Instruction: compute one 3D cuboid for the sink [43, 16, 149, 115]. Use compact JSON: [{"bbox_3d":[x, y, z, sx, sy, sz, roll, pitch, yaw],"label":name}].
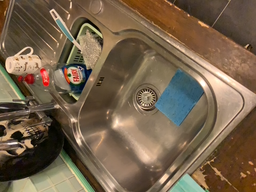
[{"bbox_3d":[-0.120,-0.110,0.830,0.180,0.280,0.280,43,117,24],"label":"sink"}]
